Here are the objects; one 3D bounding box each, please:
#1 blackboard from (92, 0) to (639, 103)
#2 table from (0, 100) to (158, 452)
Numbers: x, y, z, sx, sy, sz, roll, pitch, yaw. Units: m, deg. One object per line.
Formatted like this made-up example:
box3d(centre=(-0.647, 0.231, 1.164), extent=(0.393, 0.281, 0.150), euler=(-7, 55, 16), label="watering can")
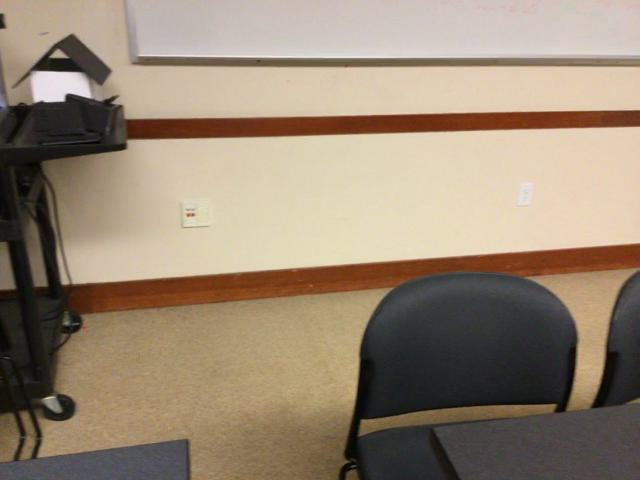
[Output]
box3d(centre=(0.470, -1.040, 2.220), extent=(2.550, 0.940, 0.210), euler=(-4, 21, -13), label="blackboard")
box3d(centre=(-1.110, 0.070, 1.920), extent=(1.010, 0.940, 0.780), euler=(-4, 21, -13), label="table")
